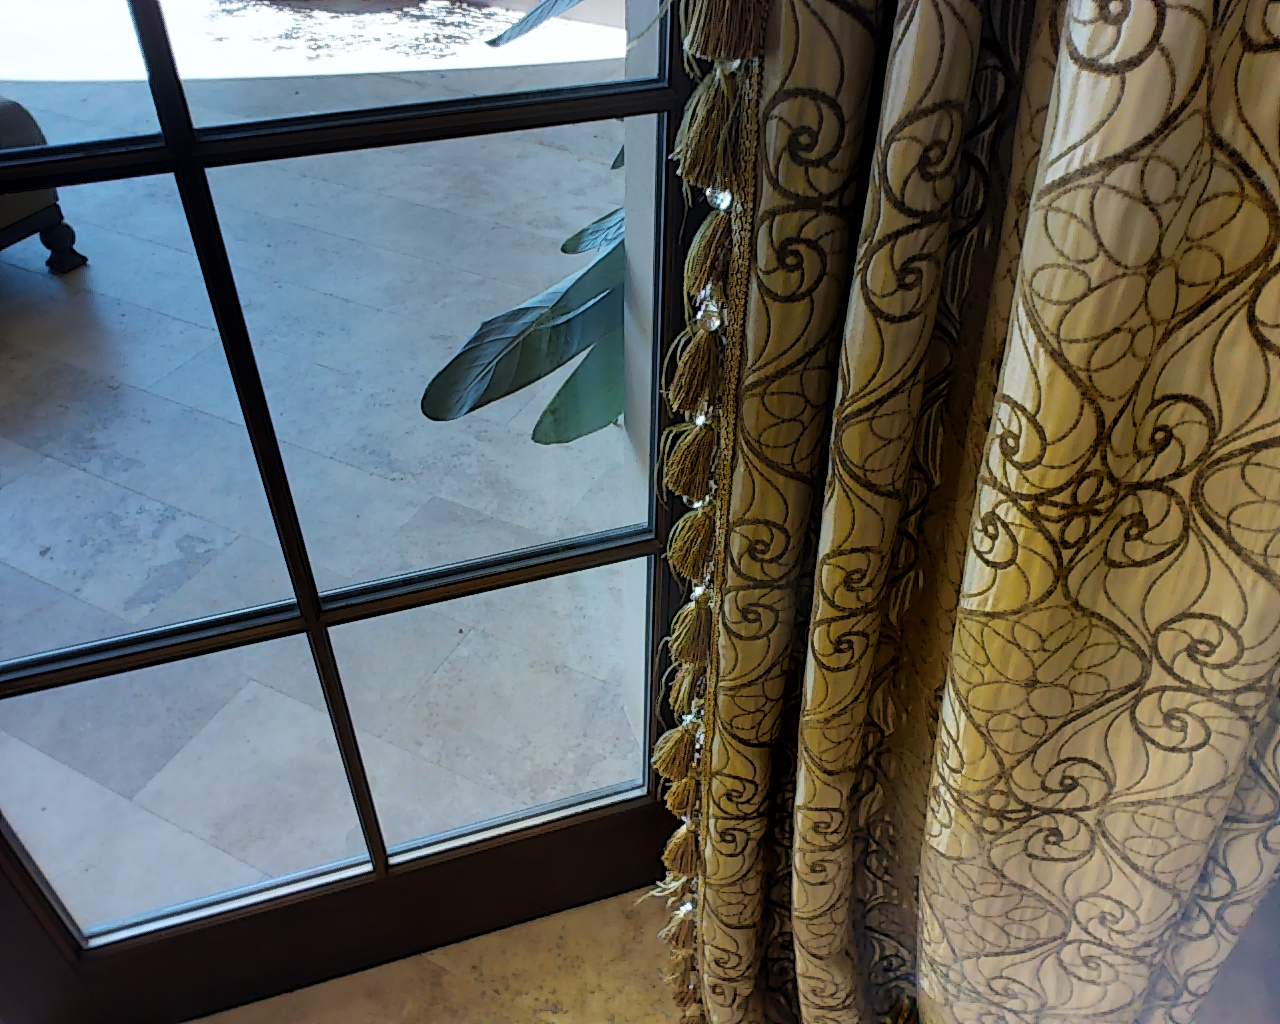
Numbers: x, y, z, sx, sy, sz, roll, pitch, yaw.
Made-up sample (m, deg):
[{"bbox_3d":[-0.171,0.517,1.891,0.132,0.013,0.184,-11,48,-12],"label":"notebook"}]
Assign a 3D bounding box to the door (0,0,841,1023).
[{"bbox_3d":[-0.380,-0.390,0.680,1.100,2.890,0.090,-12,43,-13],"label":"door"}]
